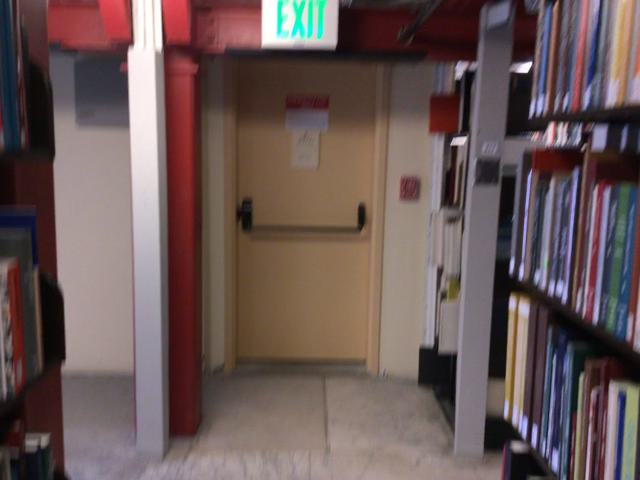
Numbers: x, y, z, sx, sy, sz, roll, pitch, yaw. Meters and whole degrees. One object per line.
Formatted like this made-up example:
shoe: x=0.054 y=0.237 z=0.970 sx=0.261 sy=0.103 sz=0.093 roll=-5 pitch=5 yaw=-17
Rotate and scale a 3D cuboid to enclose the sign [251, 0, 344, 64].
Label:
sign: x=-0.090 y=-0.910 z=2.420 sx=0.360 sy=0.290 sz=0.160 roll=5 pitch=12 yaw=-2
